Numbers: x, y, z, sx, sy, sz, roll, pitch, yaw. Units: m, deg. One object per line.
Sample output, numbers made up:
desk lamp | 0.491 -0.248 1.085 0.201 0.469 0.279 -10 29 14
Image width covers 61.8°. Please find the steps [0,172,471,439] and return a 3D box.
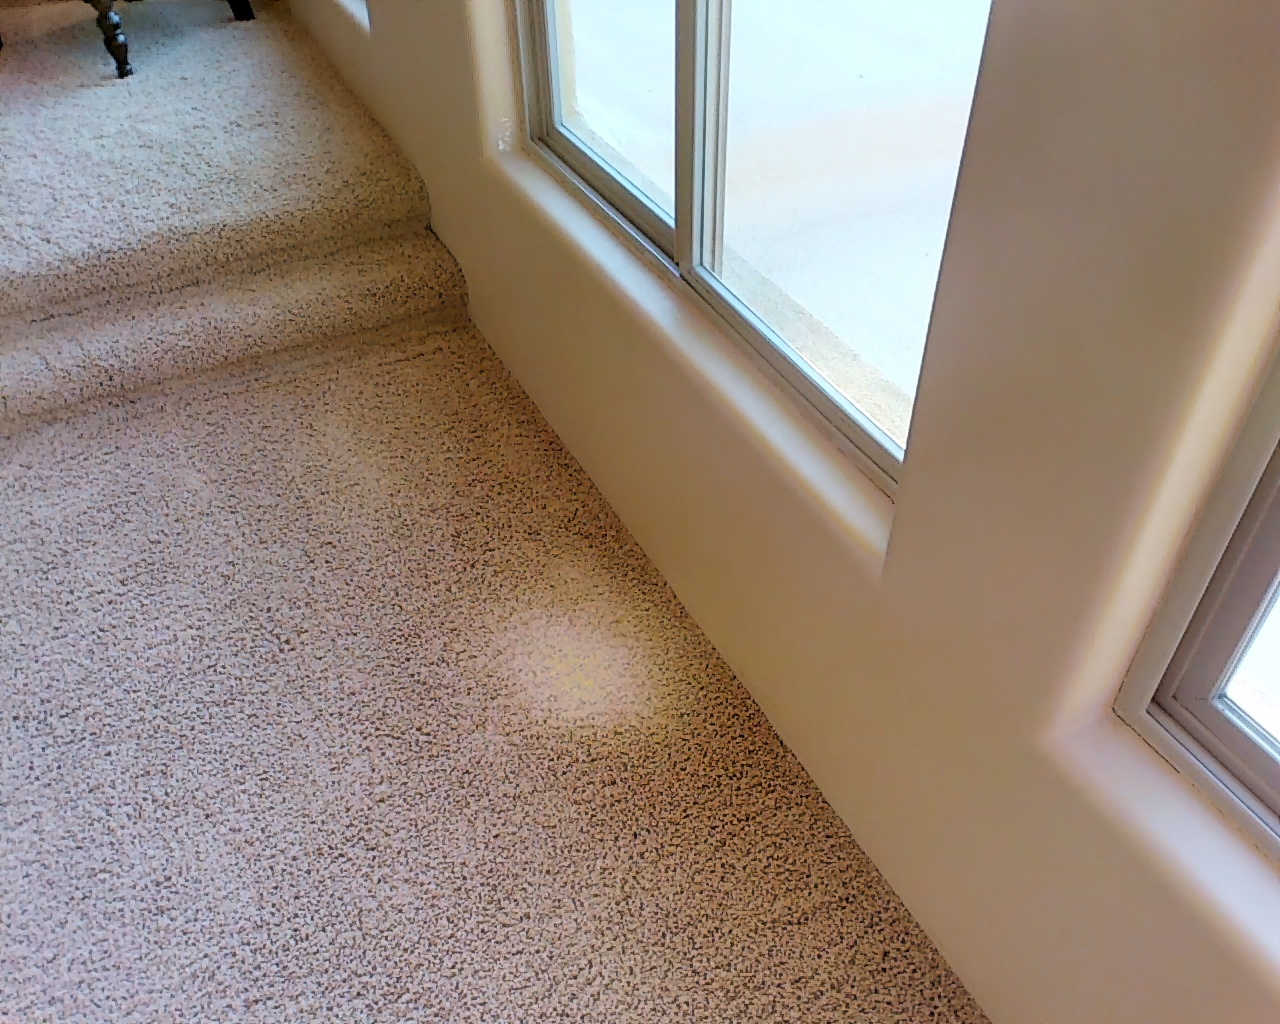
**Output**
steps | -1.341 -0.470 2.680 1.791 0.280 0.320 -19 45 -19
